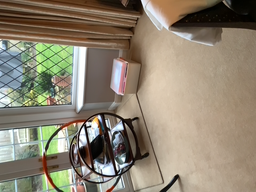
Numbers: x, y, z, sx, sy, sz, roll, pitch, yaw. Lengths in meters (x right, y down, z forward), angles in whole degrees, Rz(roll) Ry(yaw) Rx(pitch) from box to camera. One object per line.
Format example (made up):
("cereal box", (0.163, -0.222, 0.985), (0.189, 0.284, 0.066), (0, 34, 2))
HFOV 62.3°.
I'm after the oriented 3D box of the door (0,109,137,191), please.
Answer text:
("door", (-1.020, 0.810, 2.390), (0.210, 2.160, 1.200), (-49, 52, 48))
